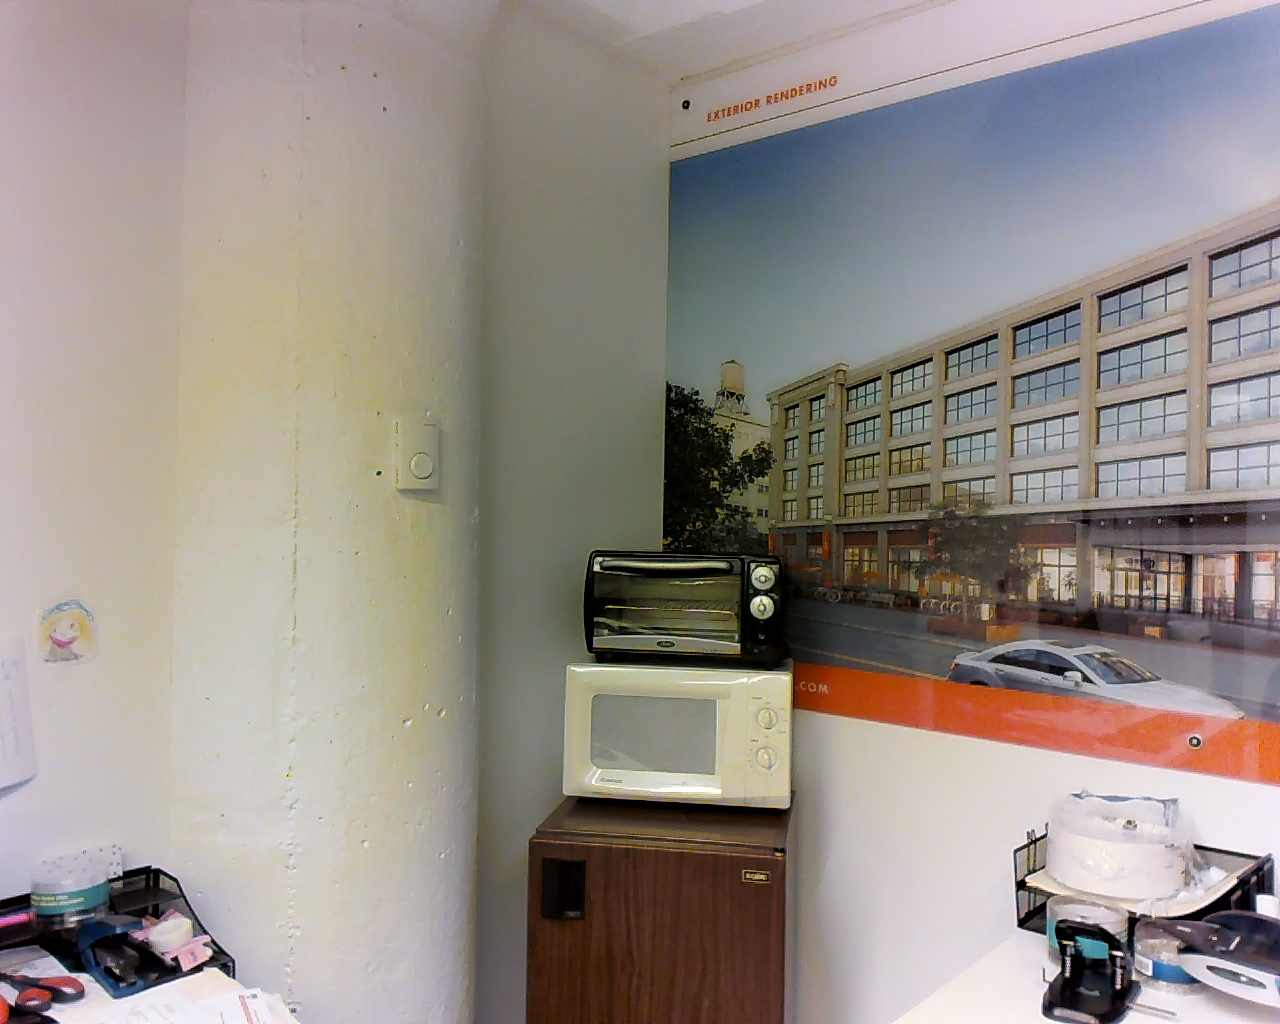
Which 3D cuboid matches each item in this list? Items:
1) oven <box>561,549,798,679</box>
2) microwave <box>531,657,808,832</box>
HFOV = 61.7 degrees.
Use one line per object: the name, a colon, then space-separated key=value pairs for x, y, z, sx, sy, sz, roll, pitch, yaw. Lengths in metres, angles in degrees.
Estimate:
oven: x=0.080 y=0.200 z=2.150 sx=0.460 sy=0.240 sz=0.130 roll=1 pitch=0 yaw=5
microwave: x=0.060 y=0.460 z=2.150 sx=0.540 sy=0.310 sz=0.110 roll=1 pitch=0 yaw=6
